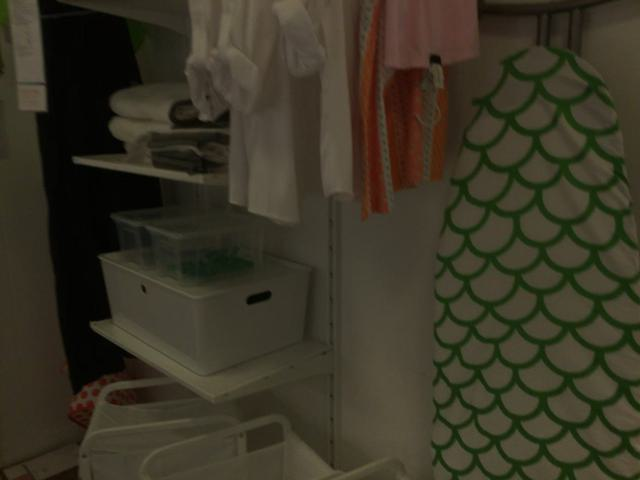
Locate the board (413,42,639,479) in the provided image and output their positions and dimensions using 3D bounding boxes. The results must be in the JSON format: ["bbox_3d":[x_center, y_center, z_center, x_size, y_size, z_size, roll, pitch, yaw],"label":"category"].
[{"bbox_3d":[0.400,0.380,1.080,0.140,1.400,0.440,-14,19,-43],"label":"board"}]

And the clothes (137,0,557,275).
[{"bbox_3d":[0.040,-0.430,0.990,0.490,0.800,0.530,-14,19,-43],"label":"clothes"}]

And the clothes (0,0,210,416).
[{"bbox_3d":[-0.650,-0.110,1.830,0.450,1.180,0.280,-14,19,-43],"label":"clothes"}]
